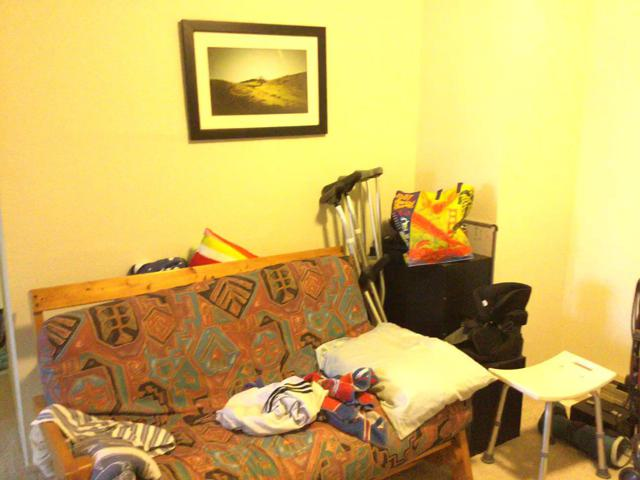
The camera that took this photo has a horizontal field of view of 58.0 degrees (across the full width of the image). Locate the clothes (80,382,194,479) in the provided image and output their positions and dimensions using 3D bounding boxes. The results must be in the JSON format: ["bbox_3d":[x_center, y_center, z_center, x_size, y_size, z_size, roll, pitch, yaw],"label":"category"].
[{"bbox_3d":[-0.600,0.640,1.860,0.280,0.180,0.420,-5,9,-26],"label":"clothes"}]

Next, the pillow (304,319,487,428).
[{"bbox_3d":[0.270,0.500,2.320,0.450,0.210,0.650,-5,3,-23],"label":"pillow"}]

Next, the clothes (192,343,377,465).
[{"bbox_3d":[-0.140,0.570,2.120,0.540,0.180,0.450,-5,9,-26],"label":"clothes"}]
